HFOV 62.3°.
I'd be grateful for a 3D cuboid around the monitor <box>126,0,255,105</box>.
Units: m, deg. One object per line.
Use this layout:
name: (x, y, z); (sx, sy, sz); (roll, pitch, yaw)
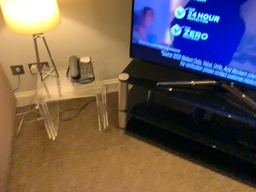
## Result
monitor: (0.530, -0.280, 0.990); (1.130, 0.690, 0.060); (17, 45, 16)
